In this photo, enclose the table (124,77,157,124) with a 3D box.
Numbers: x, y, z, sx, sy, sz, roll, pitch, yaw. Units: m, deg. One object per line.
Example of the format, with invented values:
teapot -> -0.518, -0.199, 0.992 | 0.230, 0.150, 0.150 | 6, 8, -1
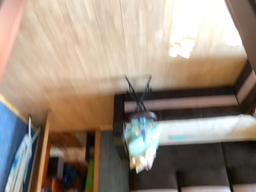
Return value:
table -> 0.120, 0.050, 2.300 | 0.310, 0.430, 0.250 | -1, 149, -1
